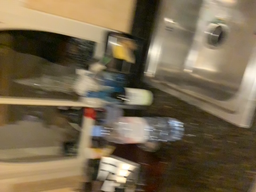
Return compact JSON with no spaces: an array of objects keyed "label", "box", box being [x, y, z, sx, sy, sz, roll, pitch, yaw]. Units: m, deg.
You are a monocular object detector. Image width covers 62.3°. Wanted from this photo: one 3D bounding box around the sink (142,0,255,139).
[{"label":"sink","box":[0.360,-0.180,0.820,0.510,0.280,0.480,32,114,55]}]
